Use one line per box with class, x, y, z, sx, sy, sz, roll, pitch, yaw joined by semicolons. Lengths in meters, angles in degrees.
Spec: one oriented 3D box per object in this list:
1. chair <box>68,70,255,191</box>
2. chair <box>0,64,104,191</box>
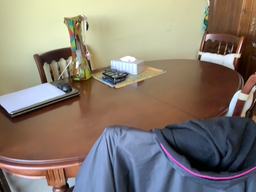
chair;0.120;0.420;0.950;0.500;0.940;0.520;-1;25;2
chair;-0.480;0.380;1.100;0.540;0.930;0.420;-19;30;-33
